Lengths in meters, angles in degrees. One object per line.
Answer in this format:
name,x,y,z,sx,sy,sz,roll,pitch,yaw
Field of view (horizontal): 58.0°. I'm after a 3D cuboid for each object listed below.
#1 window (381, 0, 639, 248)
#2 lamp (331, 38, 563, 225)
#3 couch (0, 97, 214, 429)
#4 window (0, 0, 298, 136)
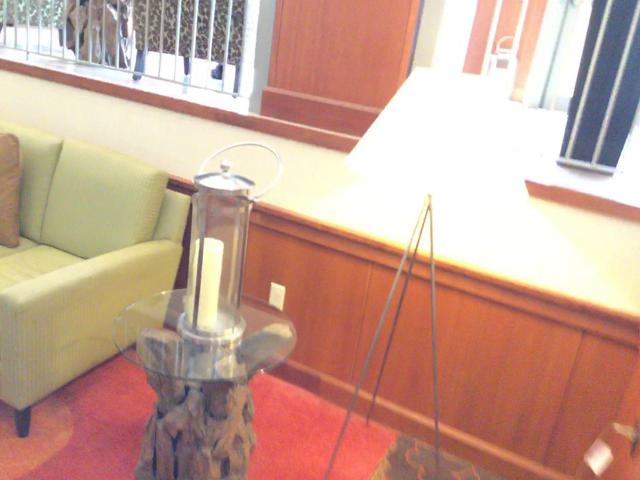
window,1.010,-0.590,2.250,1.190,0.910,0.700,20,21,19
lamp,0.390,-0.350,1.790,0.560,0.390,0.320,20,21,19
couch,-1.750,-0.170,2.750,2.140,0.840,1.030,20,21,19
window,-1.530,-1.170,3.260,2.830,0.370,0.580,20,21,19
